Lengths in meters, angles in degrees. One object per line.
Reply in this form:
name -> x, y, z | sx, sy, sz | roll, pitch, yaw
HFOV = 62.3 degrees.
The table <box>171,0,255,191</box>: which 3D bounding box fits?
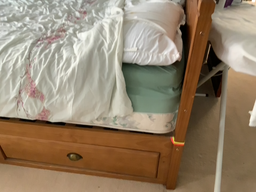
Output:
table -> 0.520, -0.090, 1.310 | 0.380, 0.840, 1.290 | 5, 34, 7
